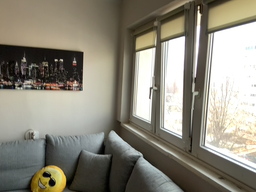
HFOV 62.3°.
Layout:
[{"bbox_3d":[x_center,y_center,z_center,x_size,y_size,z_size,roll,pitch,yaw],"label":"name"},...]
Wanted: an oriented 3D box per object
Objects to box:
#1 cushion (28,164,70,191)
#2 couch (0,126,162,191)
[{"bbox_3d":[-0.730,0.790,1.980,0.330,0.220,0.210,2,5,-10],"label":"cushion"},{"bbox_3d":[-1.070,0.850,1.830,2.480,0.890,0.980,1,6,-22],"label":"couch"}]
